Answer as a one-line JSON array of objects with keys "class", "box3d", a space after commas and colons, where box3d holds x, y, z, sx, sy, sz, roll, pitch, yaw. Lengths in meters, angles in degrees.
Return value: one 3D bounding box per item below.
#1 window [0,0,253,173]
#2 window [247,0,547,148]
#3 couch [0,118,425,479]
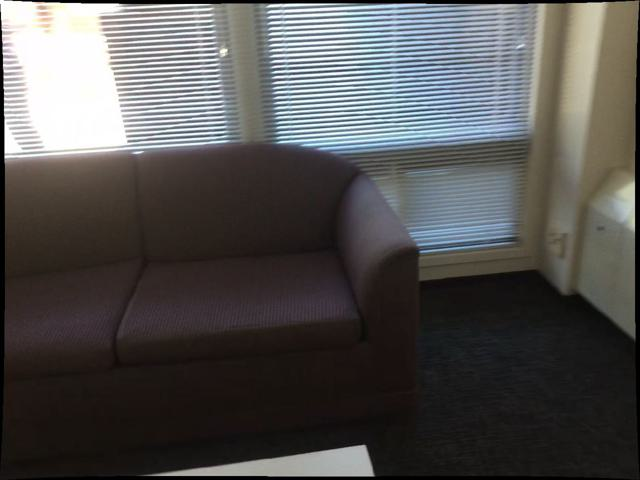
[{"class": "window", "box3d": [-0.889, -0.982, 2.030, 1.158, 1.412, 0.240, -6, 24, -6]}, {"class": "window", "box3d": [0.270, -1.112, 2.140, 1.108, 1.402, 0.290, -6, 24, -6]}, {"class": "couch", "box3d": [-0.639, 0.130, 2.090, 1.777, 0.801, 1.000, -6, 24, -6]}]
